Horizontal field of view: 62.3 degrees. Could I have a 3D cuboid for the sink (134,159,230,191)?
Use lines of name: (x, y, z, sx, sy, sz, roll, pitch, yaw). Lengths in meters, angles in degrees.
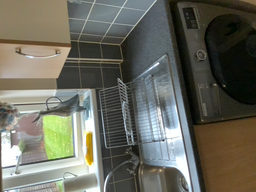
sink: (0.270, 0.570, 1.130, 0.520, 0.210, 0.400, -28, 68, 61)
